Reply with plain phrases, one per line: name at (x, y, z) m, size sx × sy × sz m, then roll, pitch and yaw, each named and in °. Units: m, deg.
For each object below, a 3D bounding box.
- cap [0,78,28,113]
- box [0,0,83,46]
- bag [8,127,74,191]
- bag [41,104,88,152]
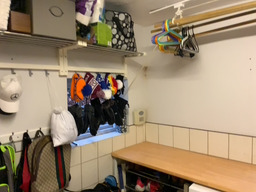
cap at (-0.810, -0.010, 1.480) m, size 0.100 × 0.230 × 0.160 m, roll 2°, pitch 5°, yaw 41°
box at (-0.590, -0.600, 1.460) m, size 0.340 × 0.410 × 0.420 m, roll 3°, pitch 5°, yaw 44°
bag at (-0.630, 0.570, 1.580) m, size 0.210 × 0.600 × 0.380 m, roll 2°, pitch 5°, yaw 39°
bag at (-0.510, 0.240, 1.710) m, size 0.230 × 0.310 × 0.270 m, roll 2°, pitch 5°, yaw 40°
